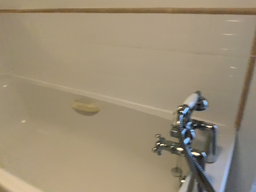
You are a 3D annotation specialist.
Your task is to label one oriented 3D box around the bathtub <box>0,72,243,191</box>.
[{"bbox_3d":[-0.410,0.370,1.140,1.680,0.600,0.690,13,28,28],"label":"bathtub"}]
